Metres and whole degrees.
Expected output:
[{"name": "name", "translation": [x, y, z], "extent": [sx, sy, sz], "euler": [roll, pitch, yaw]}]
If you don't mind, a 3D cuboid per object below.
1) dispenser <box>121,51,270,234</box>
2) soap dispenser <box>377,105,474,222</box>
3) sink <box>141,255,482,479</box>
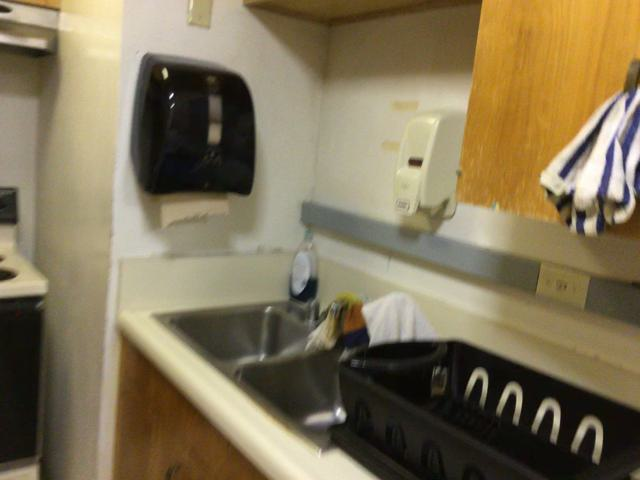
[{"name": "dispenser", "translation": [-0.350, -0.260, 1.610], "extent": [0.320, 0.450, 0.210], "euler": [-2, 12, -37]}, {"name": "soap dispenser", "translation": [0.270, -0.200, 1.500], "extent": [0.130, 0.280, 0.170], "euler": [-2, 12, -37]}, {"name": "sink", "translation": [-0.060, 0.300, 1.520], "extent": [0.570, 0.360, 0.690], "euler": [-2, 12, -37]}]
